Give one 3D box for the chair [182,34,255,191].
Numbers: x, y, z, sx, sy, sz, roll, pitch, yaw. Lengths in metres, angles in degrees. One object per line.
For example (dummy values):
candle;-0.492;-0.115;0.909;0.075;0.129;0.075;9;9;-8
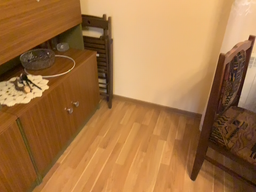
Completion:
chair;0.730;0.210;1.250;0.460;0.940;0.490;-28;44;-35
